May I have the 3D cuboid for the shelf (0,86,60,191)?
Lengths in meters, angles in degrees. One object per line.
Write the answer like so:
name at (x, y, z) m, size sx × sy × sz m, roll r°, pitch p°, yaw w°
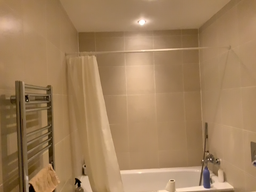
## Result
shelf at (-0.490, 0.580, 1.080) m, size 0.170 × 1.230 × 0.470 m, roll -3°, pitch -1°, yaw -4°
